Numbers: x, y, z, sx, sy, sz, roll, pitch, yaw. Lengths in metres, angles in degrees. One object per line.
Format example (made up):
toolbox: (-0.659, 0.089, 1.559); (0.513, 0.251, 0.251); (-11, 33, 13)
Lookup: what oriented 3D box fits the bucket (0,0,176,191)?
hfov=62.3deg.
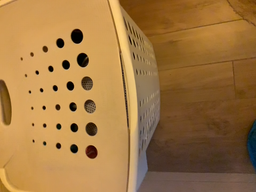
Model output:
bucket: (-0.070, 0.000, 0.670); (0.350, 0.580, 0.460); (-6, 94, 17)
